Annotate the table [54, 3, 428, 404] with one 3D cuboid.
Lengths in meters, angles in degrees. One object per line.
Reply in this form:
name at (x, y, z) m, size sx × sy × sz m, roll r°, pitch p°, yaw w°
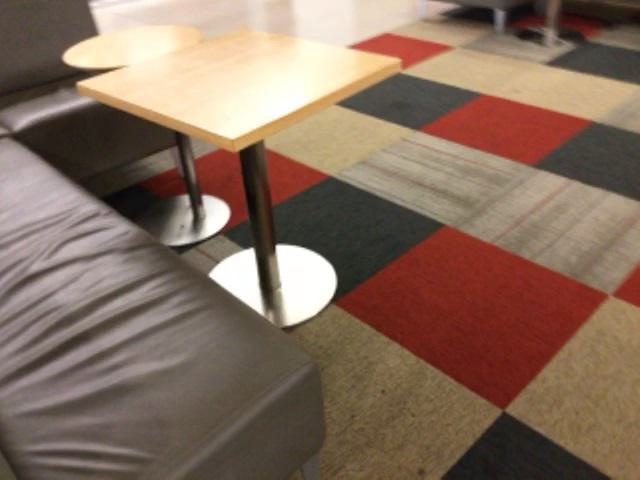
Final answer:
table at (-0.160, -0.160, 1.680) m, size 0.670 × 0.810 × 0.660 m, roll 21°, pitch 42°, yaw 32°
